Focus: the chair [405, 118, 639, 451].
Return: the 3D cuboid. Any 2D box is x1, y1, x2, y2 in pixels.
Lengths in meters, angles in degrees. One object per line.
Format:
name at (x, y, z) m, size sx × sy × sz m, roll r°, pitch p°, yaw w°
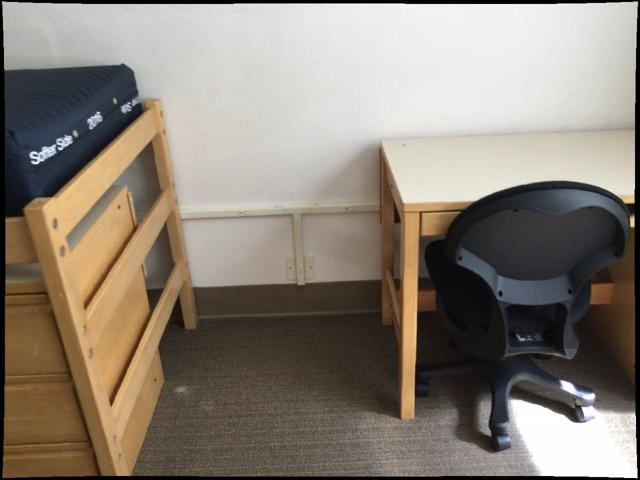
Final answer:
chair at (0.569, 0.120, 1.780) m, size 0.529 × 0.821 × 0.570 m, roll -3°, pitch 27°, yaw 1°
